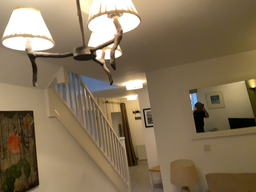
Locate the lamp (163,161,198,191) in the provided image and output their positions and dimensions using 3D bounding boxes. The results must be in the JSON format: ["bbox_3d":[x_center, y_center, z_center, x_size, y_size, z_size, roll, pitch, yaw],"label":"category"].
[{"bbox_3d":[0.680,1.130,2.660,0.350,0.520,0.360,-9,-5,17],"label":"lamp"}]
